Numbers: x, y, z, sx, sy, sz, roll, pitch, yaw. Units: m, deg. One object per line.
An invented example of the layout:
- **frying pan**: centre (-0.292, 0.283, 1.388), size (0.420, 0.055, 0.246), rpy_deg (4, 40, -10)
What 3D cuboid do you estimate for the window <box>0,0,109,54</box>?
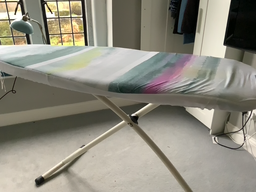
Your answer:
- **window**: centre (-0.830, -1.340, 1.950), size (1.250, 1.830, 0.120), rpy_deg (-8, 27, -17)
